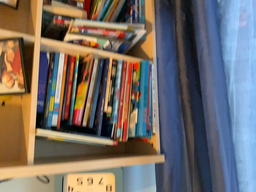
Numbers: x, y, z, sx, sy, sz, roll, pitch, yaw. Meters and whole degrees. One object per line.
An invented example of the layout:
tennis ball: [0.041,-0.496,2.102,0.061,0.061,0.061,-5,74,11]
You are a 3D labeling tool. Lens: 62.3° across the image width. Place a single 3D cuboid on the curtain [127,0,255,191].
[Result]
curtain: [0.230,0.090,0.770,0.120,2.580,0.650,6,168,-32]
